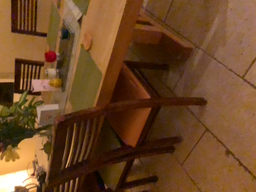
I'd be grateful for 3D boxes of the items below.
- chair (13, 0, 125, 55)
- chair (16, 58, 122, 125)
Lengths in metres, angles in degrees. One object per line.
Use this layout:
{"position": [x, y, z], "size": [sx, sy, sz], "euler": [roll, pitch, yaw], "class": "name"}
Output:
{"position": [-0.640, -0.810, 2.240], "size": [0.590, 0.960, 0.530], "euler": [43, 127, 46], "class": "chair"}
{"position": [-0.650, -0.080, 2.310], "size": [0.500, 0.960, 0.450], "euler": [47, 130, 44], "class": "chair"}
